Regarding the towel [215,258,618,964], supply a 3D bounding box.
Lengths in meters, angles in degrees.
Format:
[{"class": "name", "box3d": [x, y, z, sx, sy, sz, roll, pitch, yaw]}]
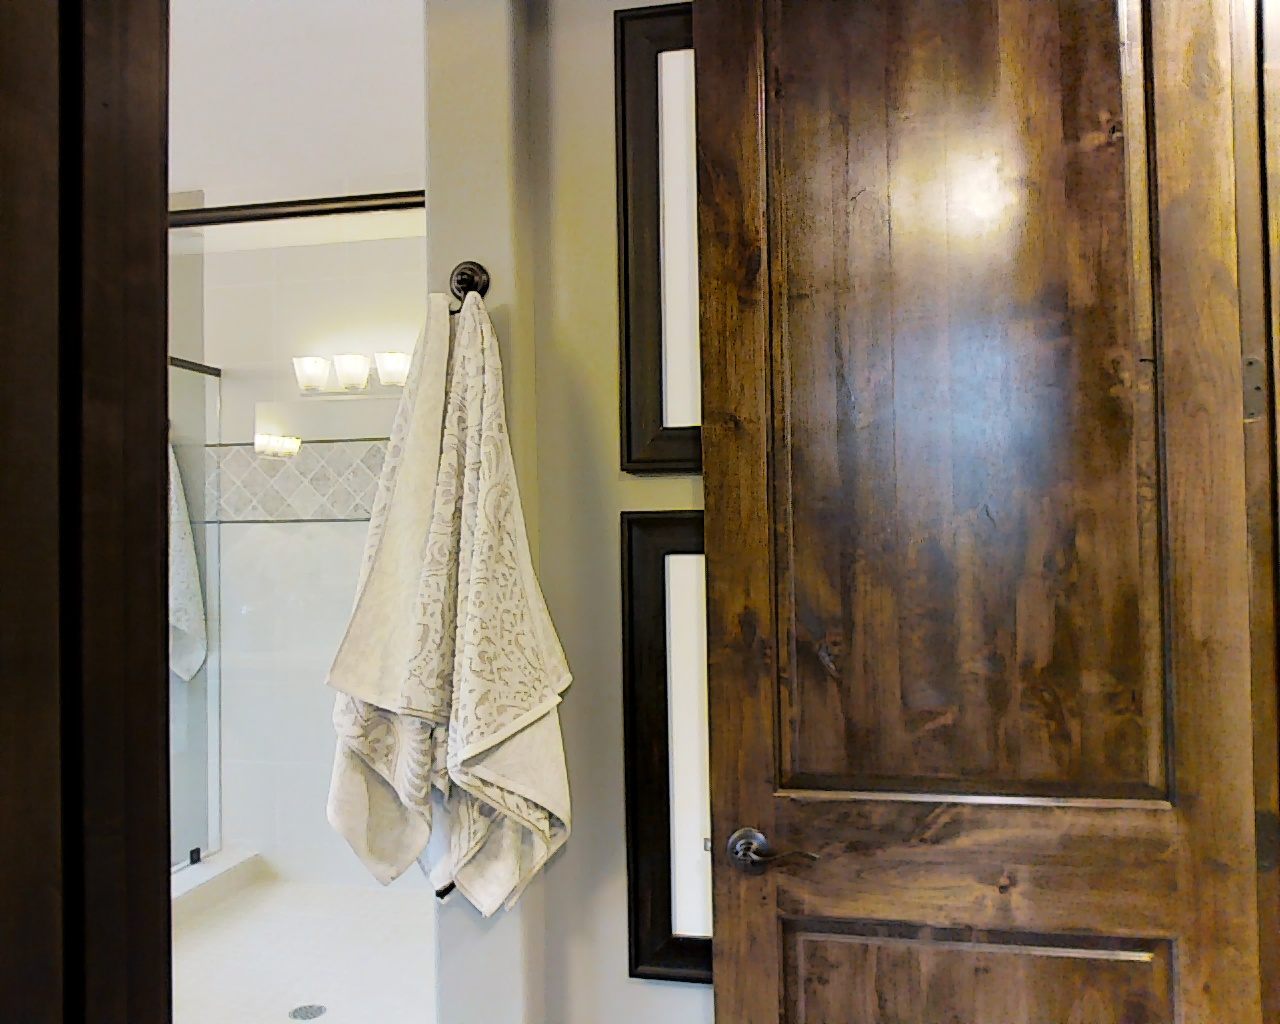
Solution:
[{"class": "towel", "box3d": [-0.310, 0.130, 1.670, 0.420, 0.980, 0.370, 0, 10, 14]}]
